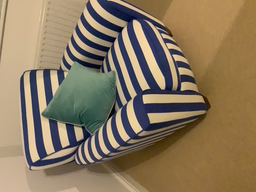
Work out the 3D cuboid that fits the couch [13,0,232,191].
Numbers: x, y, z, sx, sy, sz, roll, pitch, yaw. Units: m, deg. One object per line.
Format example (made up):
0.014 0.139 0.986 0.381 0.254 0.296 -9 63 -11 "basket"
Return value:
-0.150 -0.050 1.390 0.920 0.840 0.920 -43 55 38 "couch"
